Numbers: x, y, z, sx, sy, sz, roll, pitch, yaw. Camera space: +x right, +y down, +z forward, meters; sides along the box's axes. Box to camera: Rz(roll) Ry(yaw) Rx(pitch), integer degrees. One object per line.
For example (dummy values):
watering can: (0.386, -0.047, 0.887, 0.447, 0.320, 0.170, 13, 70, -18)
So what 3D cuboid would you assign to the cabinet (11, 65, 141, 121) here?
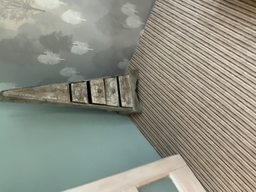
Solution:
cabinet: (-0.310, -0.030, 1.510, 0.220, 0.880, 0.300, -5, 89, 49)
